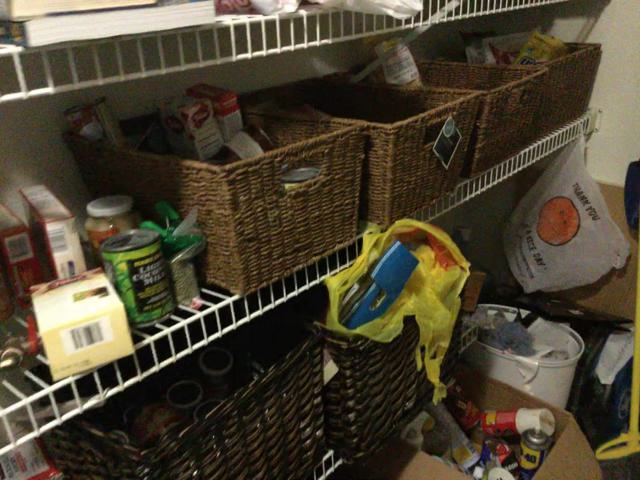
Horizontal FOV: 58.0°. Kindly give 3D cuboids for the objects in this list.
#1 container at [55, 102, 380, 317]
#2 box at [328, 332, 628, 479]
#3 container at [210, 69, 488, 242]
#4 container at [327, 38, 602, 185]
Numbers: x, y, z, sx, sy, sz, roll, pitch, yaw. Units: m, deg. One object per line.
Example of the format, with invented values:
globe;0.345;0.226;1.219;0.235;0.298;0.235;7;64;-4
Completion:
container;-0.170;-0.090;0.970;0.420;0.190;0.330;18;32;41
box;0.380;0.580;1.420;0.490;0.380;0.500;18;32;41
container;0.050;-0.200;1.160;0.460;0.220;0.290;18;32;41
container;0.380;-0.360;1.450;0.360;0.210;0.660;18;32;41
